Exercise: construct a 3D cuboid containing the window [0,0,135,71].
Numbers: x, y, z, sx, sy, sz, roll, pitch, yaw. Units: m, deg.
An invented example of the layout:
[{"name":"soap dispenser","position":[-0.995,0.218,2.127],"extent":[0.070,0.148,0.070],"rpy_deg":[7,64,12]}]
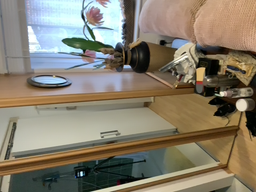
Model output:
[{"name":"window","position":[-0.660,-1.010,1.710],"extent":[0.150,1.530,1.590],"rpy_deg":[-139,48,-60]}]
